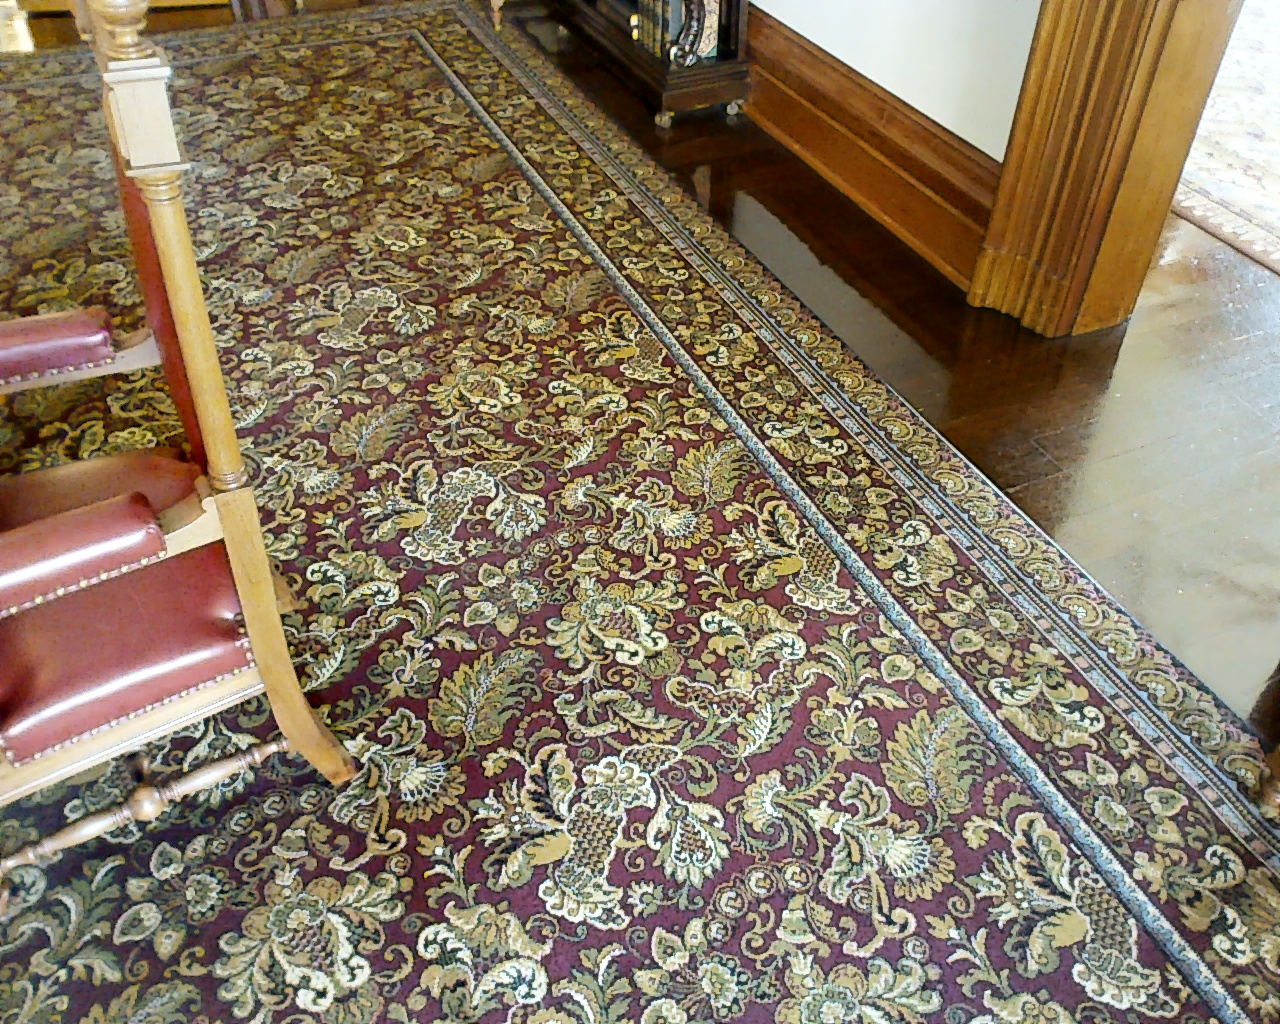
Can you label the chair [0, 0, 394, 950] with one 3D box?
[{"bbox_3d":[-0.850,-0.110,1.430,0.690,1.320,0.650,-17,45,-18],"label":"chair"}]
